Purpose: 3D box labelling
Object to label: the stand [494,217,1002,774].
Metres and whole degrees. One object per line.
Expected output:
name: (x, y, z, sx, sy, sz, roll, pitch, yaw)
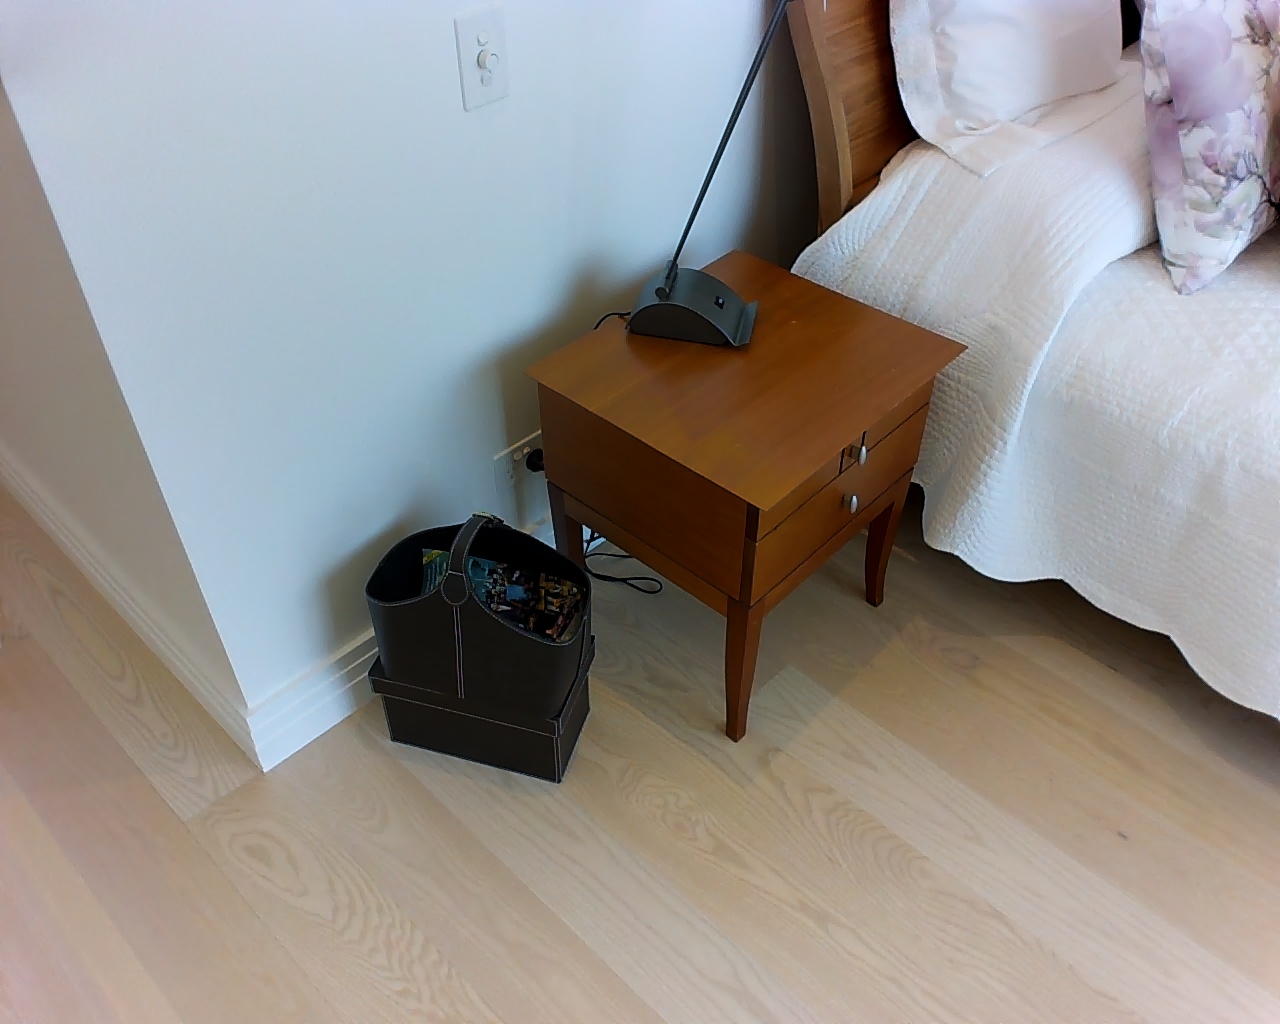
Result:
stand: (0.160, -0.050, 1.740, 0.510, 0.550, 0.530, 33, 51, 31)
